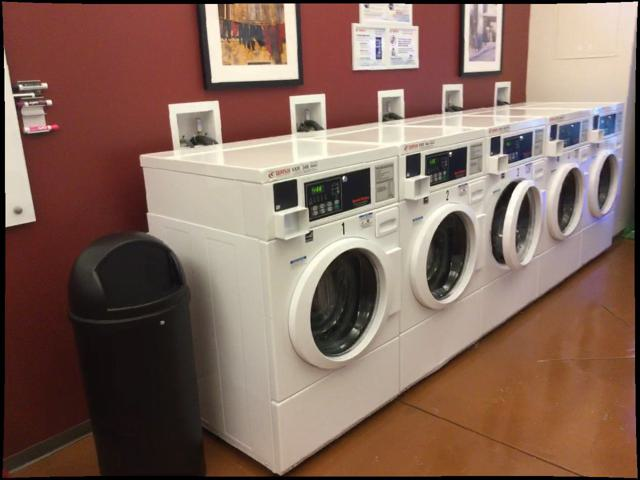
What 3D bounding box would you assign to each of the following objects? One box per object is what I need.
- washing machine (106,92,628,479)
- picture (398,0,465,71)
[{"bbox_3d":[0.529,-0.100,3.010,1.000,1.081,2.789,13,24,43],"label":"washing machine"},{"bbox_3d":[0.679,-1.441,3.480,0.070,0.781,0.600,13,24,43],"label":"picture"}]
